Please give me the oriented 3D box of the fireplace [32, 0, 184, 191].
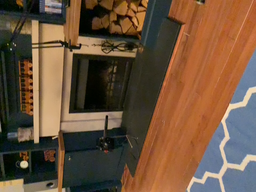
[{"bbox_3d":[-0.400,-0.060,2.140,0.970,1.020,1.670,-123,39,-50],"label":"fireplace"}]
